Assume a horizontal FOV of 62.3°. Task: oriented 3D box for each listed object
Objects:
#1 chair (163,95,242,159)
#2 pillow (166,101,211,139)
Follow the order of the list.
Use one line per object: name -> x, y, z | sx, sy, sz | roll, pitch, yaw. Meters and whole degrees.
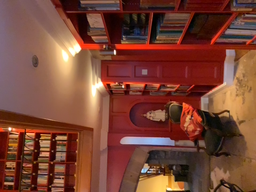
chair -> 1.180, 0.510, 3.660 | 0.890, 1.030, 0.610 | -86, -4, -49
pillow -> 1.040, 0.430, 3.710 | 0.200, 0.430, 0.600 | -29, -10, -43
